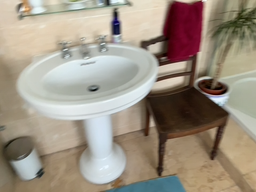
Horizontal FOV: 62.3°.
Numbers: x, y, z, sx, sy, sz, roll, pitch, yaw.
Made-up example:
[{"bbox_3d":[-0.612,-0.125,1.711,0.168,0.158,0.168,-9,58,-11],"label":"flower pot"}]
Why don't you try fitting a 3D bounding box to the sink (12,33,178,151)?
[{"bbox_3d":[-0.180,-0.080,1.110,0.670,0.210,0.540,-13,40,-13],"label":"sink"}]
